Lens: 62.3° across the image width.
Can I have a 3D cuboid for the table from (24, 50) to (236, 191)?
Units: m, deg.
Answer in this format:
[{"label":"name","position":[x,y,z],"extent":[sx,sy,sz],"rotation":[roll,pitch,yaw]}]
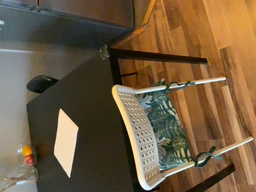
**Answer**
[{"label":"table","position":[-0.090,0.240,1.400],"extent":[1.130,0.750,0.650],"rotation":[-17,80,48]}]
